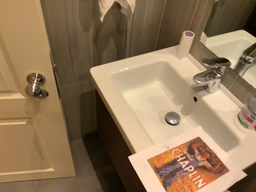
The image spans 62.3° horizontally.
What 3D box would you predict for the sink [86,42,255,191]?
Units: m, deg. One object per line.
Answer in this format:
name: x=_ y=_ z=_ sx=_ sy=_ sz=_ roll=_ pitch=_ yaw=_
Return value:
sink: x=0.170 y=0.060 z=0.870 sx=0.480 sy=0.140 sz=0.640 roll=-18 pitch=53 yaw=-22
